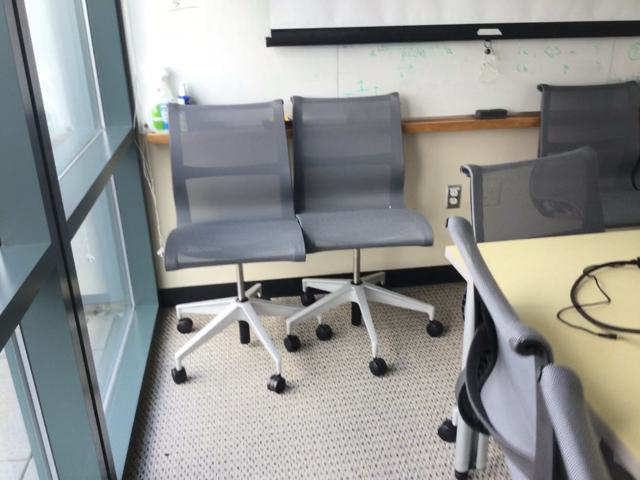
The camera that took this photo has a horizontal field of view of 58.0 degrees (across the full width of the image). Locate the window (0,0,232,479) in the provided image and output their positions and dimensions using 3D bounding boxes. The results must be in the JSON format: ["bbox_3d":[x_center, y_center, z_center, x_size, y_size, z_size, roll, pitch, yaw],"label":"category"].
[{"bbox_3d":[-0.710,-0.500,1.090,0.570,2.750,2.310,-4,23,-1],"label":"window"}]
